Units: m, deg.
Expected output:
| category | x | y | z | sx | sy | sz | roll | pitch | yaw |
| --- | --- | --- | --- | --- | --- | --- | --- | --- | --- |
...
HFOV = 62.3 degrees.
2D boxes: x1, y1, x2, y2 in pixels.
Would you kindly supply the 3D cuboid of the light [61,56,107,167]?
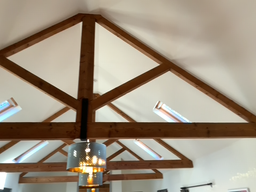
| category | x | y | z | sx | sy | sz | roll | pitch | yaw |
| --- | --- | --- | --- | --- | --- | --- | --- | --- | --- |
| light | -0.690 | 0.220 | 3.650 | 0.630 | 1.810 | 0.560 | 0 | -26 | -5 |
